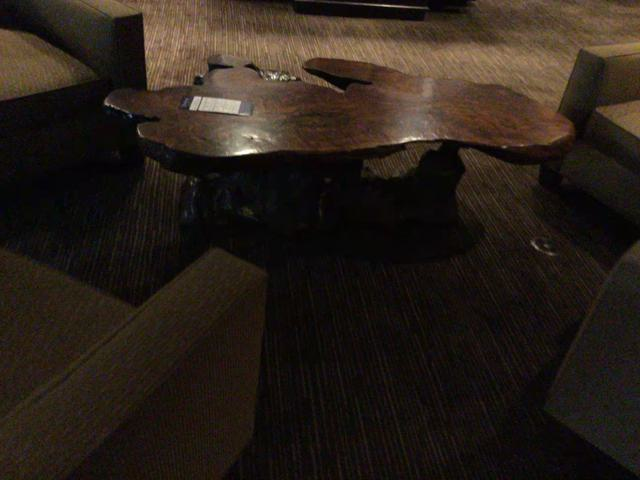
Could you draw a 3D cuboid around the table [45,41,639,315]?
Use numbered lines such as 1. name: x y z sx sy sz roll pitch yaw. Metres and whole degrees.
1. table: 0.060 -0.310 2.070 1.740 0.480 0.850 -5 39 -13
